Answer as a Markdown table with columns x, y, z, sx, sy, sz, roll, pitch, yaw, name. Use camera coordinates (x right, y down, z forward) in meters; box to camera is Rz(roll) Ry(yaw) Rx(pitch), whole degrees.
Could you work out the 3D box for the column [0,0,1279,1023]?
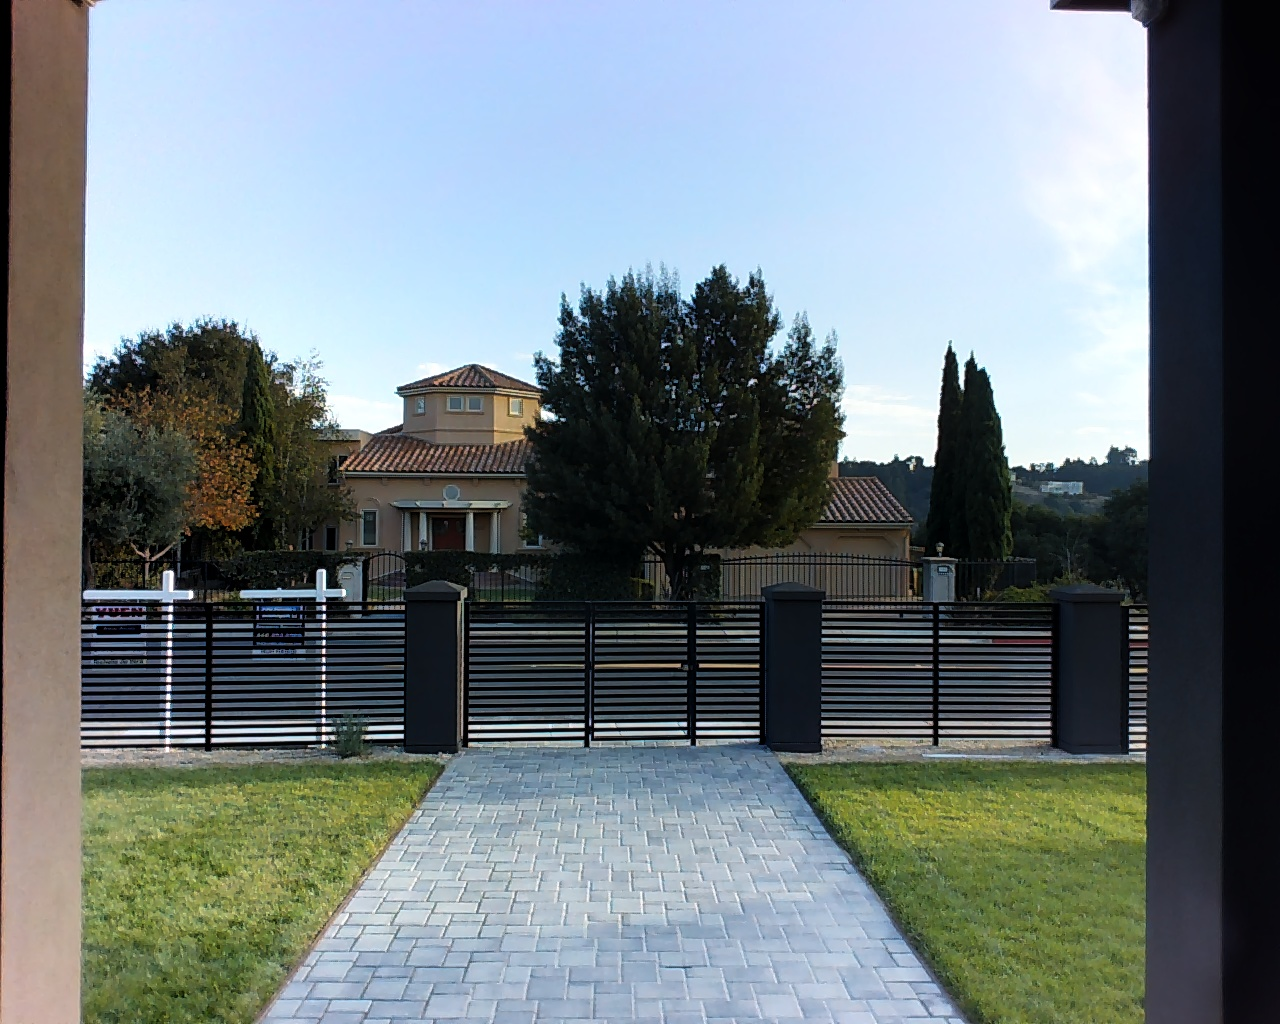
| x | y | z | sx | sy | sz | roll | pitch | yaw | name |
| --- | --- | --- | --- | --- | --- | --- | --- | --- | --- |
| 0.020 | 0.340 | 2.610 | 3.440 | 3.800 | 0.570 | 1 | 0 | -1 | column |
